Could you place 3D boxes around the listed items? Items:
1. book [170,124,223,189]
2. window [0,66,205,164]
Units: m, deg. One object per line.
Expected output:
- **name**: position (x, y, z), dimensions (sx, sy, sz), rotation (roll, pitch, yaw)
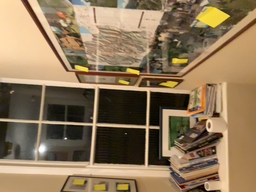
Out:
- **book**: position (0.520, 0.450, 1.640), dimensions (0.230, 0.320, 0.450), rotation (136, 137, -81)
- **window**: position (-0.290, 0.170, 1.800), dimensions (0.050, 1.940, 0.750), rotation (133, 139, -80)
